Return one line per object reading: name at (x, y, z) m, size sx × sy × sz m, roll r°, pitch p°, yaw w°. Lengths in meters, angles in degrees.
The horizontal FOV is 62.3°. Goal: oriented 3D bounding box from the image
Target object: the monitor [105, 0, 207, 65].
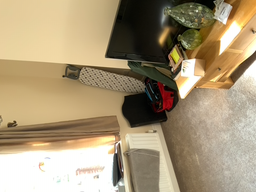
monitor at (0.240, -0.650, 1.640) m, size 1.050 × 0.620 × 0.070 m, roll 117°, pitch 148°, yaw -49°
